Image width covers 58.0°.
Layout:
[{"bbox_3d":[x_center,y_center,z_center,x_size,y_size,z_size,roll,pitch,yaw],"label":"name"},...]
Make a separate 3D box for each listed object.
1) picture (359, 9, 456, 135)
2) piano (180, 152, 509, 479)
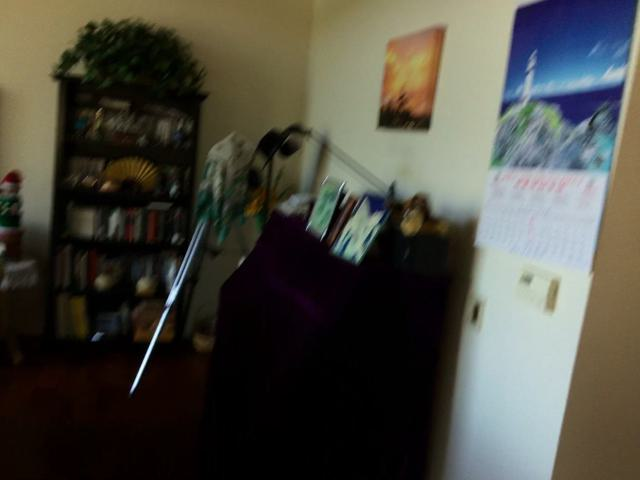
[{"bbox_3d":[0.360,-0.700,2.490,0.150,0.460,0.430,7,8,-19],"label":"picture"},{"bbox_3d":[-0.090,0.440,2.590,0.730,1.480,1.550,7,8,-19],"label":"piano"}]
